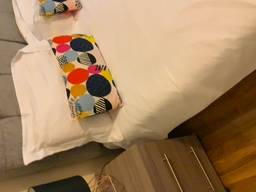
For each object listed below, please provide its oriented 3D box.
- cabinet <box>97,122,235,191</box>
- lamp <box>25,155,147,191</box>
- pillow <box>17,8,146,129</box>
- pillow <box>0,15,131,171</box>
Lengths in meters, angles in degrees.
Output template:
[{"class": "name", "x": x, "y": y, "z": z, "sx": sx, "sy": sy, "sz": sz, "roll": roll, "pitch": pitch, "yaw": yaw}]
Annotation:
[{"class": "cabinet", "x": 0.200, "y": 0.450, "z": 1.210, "sx": 0.420, "sy": 0.520, "sz": 0.420, "roll": -44, "pitch": 57, "yaw": 39}, {"class": "lamp", "x": -0.170, "y": 0.460, "z": 0.950, "sx": 0.230, "sy": 0.460, "sz": 0.240, "roll": -44, "pitch": 58, "yaw": 39}, {"class": "pillow", "x": -0.230, "y": -0.170, "z": 1.170, "sx": 0.670, "sy": 0.330, "sz": 0.150, "roll": 47, "pitch": 114, "yaw": 5}, {"class": "pillow", "x": -0.380, "y": -0.070, "z": 1.190, "sx": 0.160, "sy": 0.500, "sz": 0.790, "roll": -41, "pitch": 77, "yaw": 30}]
